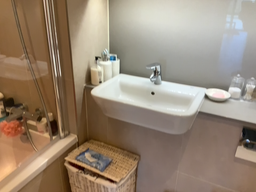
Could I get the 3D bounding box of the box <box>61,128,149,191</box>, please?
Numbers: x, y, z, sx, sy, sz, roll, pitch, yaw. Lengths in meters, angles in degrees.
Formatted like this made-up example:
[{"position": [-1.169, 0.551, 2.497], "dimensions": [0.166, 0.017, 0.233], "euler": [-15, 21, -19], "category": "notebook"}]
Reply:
[{"position": [-0.130, 0.540, 1.310], "dimensions": [0.390, 0.510, 0.310], "euler": [14, 27, 25], "category": "box"}]
